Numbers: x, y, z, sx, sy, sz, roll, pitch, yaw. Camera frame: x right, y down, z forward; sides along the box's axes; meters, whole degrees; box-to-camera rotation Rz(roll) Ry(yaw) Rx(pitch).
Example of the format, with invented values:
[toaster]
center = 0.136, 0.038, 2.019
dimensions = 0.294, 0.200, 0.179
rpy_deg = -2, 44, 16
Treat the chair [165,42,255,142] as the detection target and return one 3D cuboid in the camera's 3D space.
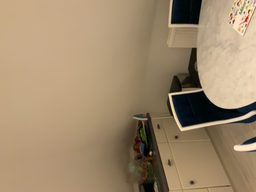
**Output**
[chair]
center = 0.860, -0.030, 1.720
dimensions = 0.570, 0.910, 0.540
rpy_deg = 97, 170, -46
